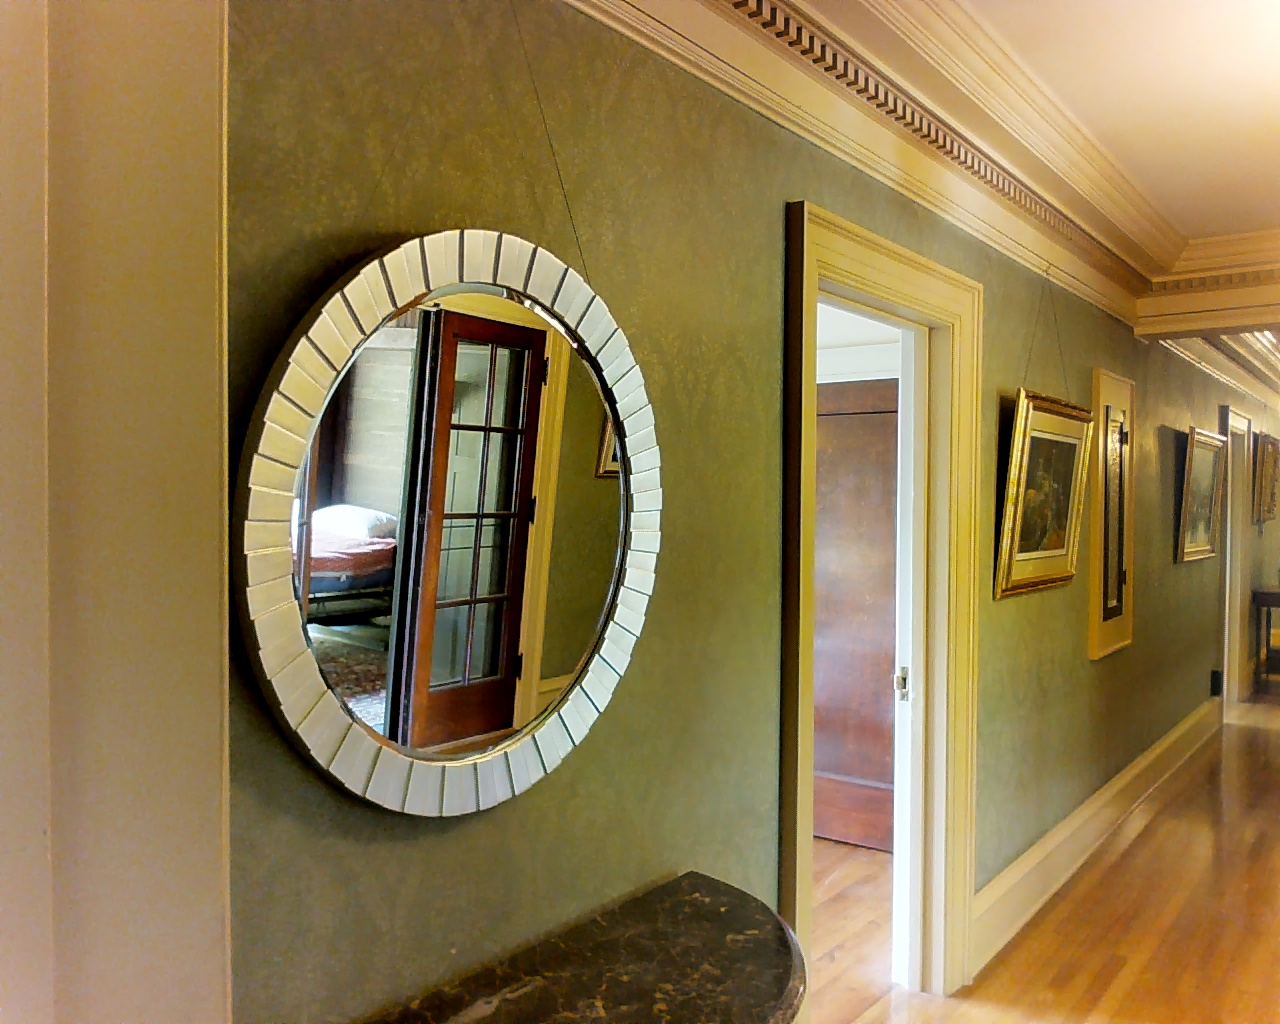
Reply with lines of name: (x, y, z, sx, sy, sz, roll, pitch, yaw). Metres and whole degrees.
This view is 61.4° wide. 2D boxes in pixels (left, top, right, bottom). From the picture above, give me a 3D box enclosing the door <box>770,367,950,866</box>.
door: (0.990, 0.450, 4.950, 0.850, 2.160, 0.080, 1, 1, 37)
